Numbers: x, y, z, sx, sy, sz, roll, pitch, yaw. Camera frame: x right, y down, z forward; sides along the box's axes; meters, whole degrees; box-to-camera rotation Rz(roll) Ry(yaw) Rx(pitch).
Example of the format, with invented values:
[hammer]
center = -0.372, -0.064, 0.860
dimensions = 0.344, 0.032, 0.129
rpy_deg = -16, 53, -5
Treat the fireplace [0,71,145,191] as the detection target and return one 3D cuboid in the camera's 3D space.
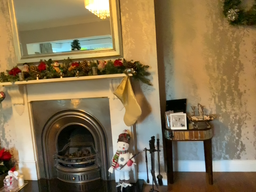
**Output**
[fireplace]
center = -0.630, 0.390, 2.310
dimensions = 1.500, 1.180, 0.750
rpy_deg = -4, 7, 10
